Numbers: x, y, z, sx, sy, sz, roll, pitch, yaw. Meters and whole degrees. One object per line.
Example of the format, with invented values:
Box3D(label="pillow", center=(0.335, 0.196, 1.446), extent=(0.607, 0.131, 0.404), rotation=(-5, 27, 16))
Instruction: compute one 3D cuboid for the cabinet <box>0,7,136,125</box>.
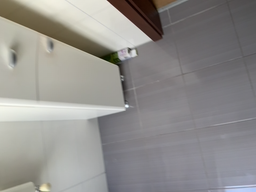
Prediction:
Box3D(label="cabinet", center=(-0.540, -0.090, 0.680), extent=(0.320, 1.880, 0.330), rotation=(-17, 79, 24))
